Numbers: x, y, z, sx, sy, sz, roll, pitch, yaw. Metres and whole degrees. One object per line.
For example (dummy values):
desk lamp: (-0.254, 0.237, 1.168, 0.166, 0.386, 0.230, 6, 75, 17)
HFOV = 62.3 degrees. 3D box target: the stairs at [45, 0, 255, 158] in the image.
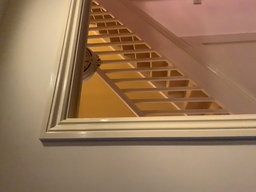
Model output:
stairs: (0.710, -0.260, 2.570, 1.020, 2.800, 1.800, 75, -166, -66)
